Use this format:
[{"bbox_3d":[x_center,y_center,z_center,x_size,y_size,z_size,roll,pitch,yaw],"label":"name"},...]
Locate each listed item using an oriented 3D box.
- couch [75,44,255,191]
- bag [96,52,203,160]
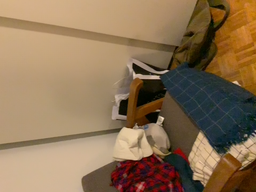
[{"bbox_3d":[0.270,0.260,1.080,0.620,0.770,0.760,47,128,43],"label":"couch"},{"bbox_3d":[0.130,0.070,1.480,0.260,0.510,0.640,45,126,44],"label":"bag"}]
